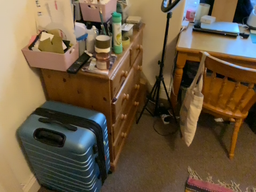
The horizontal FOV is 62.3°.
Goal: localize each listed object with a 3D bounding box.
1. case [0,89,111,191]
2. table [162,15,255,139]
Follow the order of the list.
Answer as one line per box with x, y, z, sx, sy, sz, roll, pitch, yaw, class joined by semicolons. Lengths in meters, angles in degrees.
-0.390;0.350;1.350;0.470;0.620;0.360;10;39;9;case
1.000;-0.190;2.010;1.140;0.760;0.760;12;39;12;table
